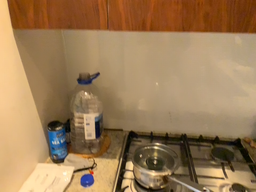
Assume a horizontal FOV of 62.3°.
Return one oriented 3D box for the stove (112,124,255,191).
[{"bbox_3d":[0.250,0.290,0.870,0.570,0.030,0.580,3,23,6],"label":"stove"}]
